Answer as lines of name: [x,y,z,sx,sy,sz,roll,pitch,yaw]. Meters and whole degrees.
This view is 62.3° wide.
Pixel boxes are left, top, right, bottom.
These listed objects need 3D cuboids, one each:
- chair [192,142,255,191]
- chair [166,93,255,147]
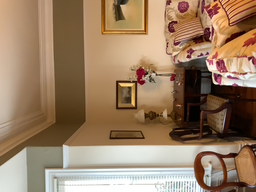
chair: [1.120,0.700,2.070,0.520,0.790,0.350,93,176,-59]
chair: [1.020,0.280,2.660,0.510,0.960,0.530,-99,8,-78]
